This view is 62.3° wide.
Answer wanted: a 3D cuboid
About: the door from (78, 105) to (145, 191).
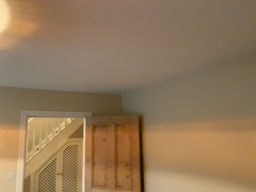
[{"bbox_3d":[-0.240,1.280,3.000,0.940,2.260,0.170,-4,-10,16],"label":"door"}]
